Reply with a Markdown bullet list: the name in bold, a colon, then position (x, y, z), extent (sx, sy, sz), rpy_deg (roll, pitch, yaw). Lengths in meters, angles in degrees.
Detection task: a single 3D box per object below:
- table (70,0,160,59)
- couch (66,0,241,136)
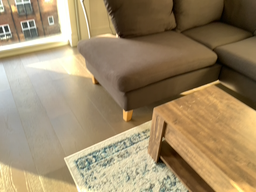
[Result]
- **table**: position (-0.150, -1.010, 2.710), extent (1.010, 0.750, 0.450), rpy_deg (-18, 41, -25)
- **couch**: position (0.150, -0.430, 1.810), extent (1.010, 0.900, 0.830), rpy_deg (-19, 42, -26)
